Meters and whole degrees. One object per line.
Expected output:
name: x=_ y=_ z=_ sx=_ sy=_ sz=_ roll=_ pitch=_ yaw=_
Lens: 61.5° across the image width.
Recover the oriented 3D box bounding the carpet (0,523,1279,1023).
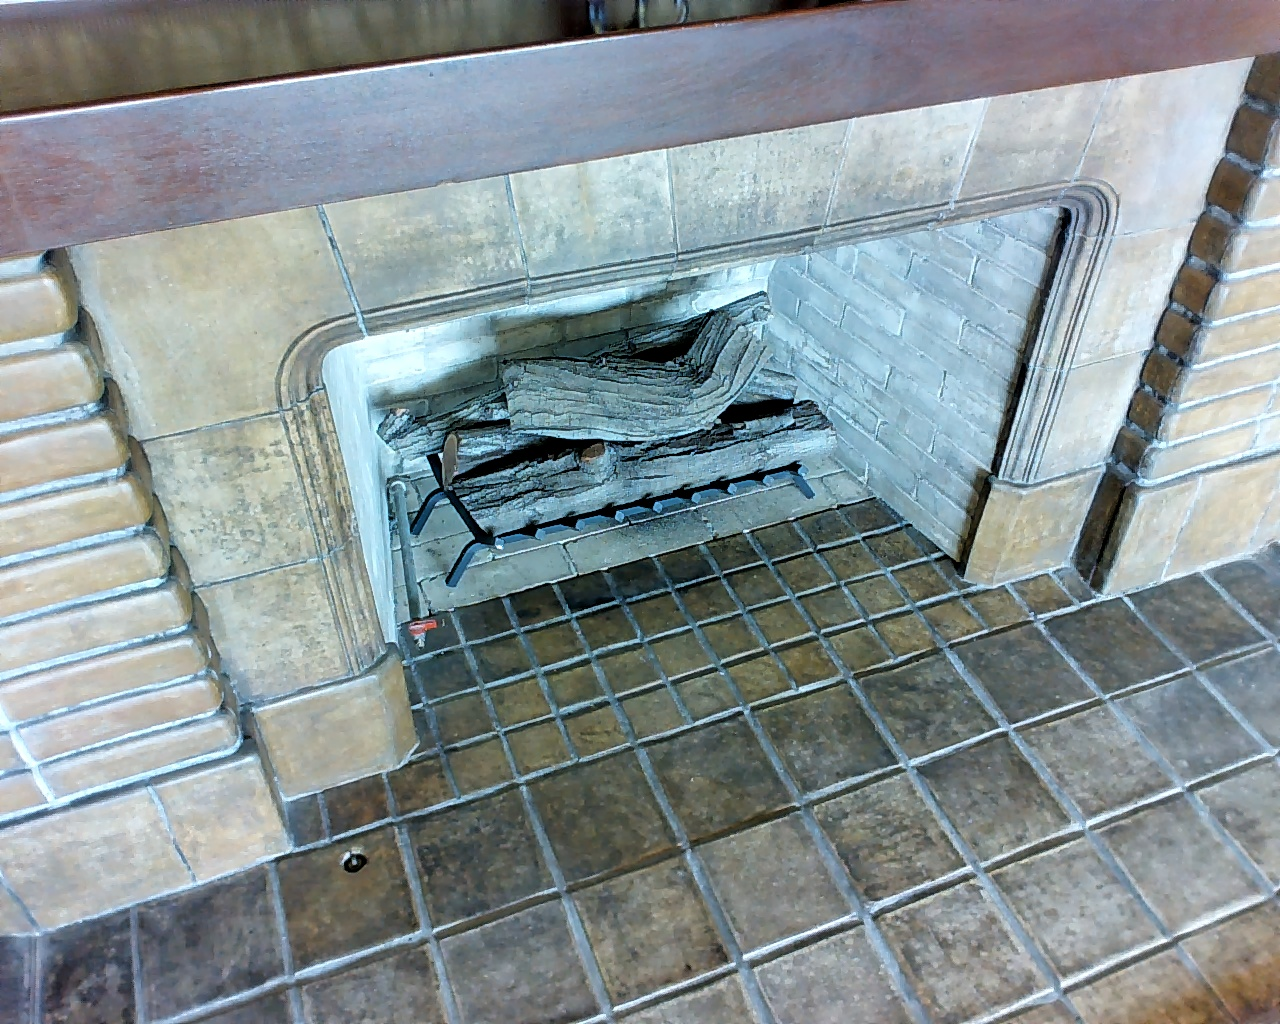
carpet: x=0.350 y=0.630 z=1.660 sx=2.590 sy=0.040 sz=0.900 roll=-15 pitch=44 yaw=-17

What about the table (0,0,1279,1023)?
table: x=0.080 y=-0.320 z=1.750 sx=2.870 sy=1.290 sz=0.890 roll=-15 pitch=44 yaw=-17
